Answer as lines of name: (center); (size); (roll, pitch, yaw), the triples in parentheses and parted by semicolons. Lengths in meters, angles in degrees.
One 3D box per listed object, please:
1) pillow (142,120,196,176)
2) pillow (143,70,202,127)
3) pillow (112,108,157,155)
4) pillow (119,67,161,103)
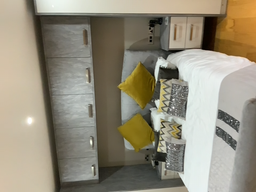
pillow: (0.530, 0.670, 2.750); (0.530, 0.420, 0.240); (46, 179, -21)
pillow: (0.550, 0.030, 2.660); (0.520, 0.540, 0.230); (21, -177, -20)
pillow: (0.110, 0.550, 3.290); (0.490, 0.510, 0.210); (53, 144, -5)
pillow: (0.170, -0.150, 3.040); (0.470, 0.180, 0.460); (-1, 117, 44)
